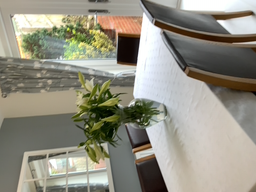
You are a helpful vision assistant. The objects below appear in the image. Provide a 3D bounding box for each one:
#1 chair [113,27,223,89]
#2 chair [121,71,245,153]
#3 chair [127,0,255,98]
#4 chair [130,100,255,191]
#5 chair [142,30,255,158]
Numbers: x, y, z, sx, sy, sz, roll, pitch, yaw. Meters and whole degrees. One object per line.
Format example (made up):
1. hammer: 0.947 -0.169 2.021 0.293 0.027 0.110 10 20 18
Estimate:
1. chair: 0.350 -0.420 2.180 0.540 0.920 0.400 -109 19 -51
2. chair: 0.440 0.130 1.930 0.390 0.920 0.540 -109 19 -51
3. chair: 0.500 -0.350 1.550 0.400 0.910 0.540 -107 17 -46
4. chair: 0.540 0.420 1.600 0.620 0.920 0.400 99 163 -46
5. chair: 0.600 -0.030 1.210 0.400 0.900 0.540 -107 17 -46
